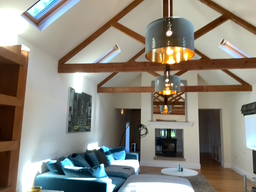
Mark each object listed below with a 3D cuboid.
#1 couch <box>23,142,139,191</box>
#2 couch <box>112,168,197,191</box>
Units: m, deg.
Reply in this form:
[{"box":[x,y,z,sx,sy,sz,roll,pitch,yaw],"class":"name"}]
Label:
[{"box":[-0.650,1.690,4.990,1.400,0.860,3.640,0,-8,10],"class":"couch"},{"box":[0.480,1.720,3.760,1.240,0.520,1.340,0,-8,10],"class":"couch"}]
